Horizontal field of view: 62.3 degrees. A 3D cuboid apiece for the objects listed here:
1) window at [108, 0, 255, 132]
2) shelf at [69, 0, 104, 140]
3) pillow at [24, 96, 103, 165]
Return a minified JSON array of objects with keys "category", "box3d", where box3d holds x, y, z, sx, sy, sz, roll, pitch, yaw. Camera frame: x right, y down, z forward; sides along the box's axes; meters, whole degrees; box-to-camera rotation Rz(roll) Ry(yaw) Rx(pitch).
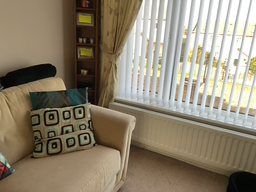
[{"category":"window","box3d":[1.070,-0.500,1.900,2.660,1.550,0.330,13,21,24]},{"category":"shelf","box3d":[-0.480,-0.390,2.440,0.290,1.850,0.220,14,21,26]},{"category":"pillow","box3d":[-0.500,0.260,1.700,0.480,0.370,0.190,-20,-1,-12]}]
